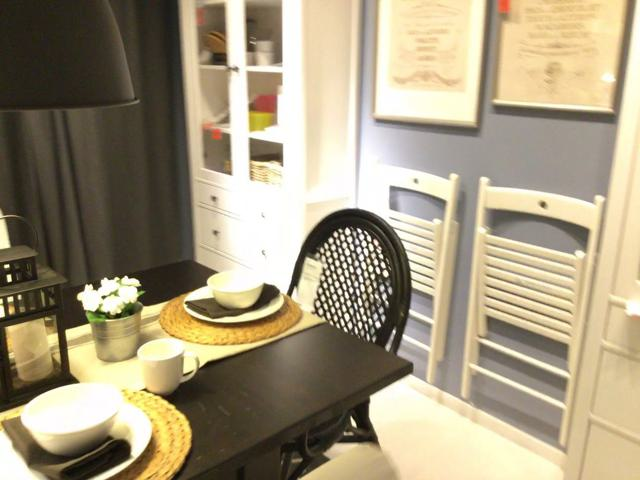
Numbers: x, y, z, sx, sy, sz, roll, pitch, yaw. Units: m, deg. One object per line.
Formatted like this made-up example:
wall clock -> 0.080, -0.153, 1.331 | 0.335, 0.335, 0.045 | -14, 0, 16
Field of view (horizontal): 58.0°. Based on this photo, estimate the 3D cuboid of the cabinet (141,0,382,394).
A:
cabinet -> -0.350, -0.510, 2.780 | 0.440, 2.090, 1.200 | -12, 21, -43
